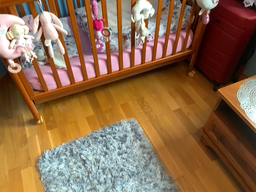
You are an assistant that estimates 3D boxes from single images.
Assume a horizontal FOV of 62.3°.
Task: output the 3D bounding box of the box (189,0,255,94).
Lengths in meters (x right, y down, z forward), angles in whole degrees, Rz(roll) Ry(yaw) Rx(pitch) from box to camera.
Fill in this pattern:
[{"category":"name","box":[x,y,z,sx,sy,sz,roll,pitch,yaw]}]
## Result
[{"category":"box","box":[0.720,-0.350,1.620,0.230,0.640,0.260,-23,54,-20]}]
